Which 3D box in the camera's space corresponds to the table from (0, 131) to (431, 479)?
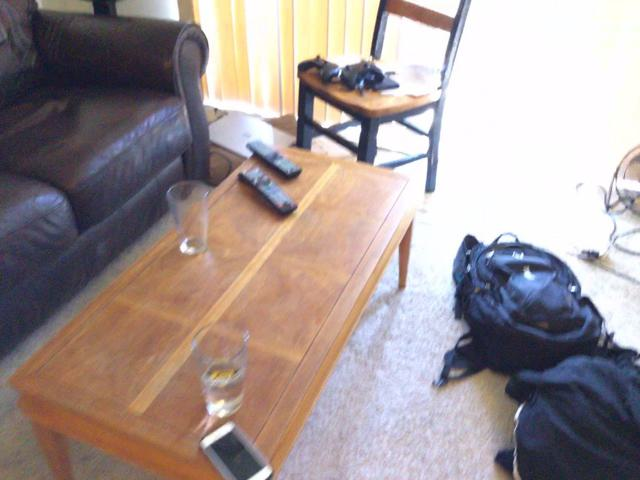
[{"bbox_3d":[-0.160,0.190,1.450,0.590,0.500,1.070,14,33,16],"label":"table"}]
